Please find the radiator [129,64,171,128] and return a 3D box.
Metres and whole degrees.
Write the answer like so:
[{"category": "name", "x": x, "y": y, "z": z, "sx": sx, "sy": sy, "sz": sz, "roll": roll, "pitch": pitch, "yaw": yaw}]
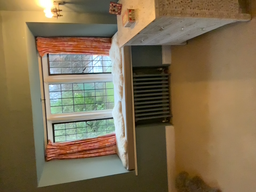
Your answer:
[{"category": "radiator", "x": 0.340, "y": -0.010, "z": 3.210, "sx": 0.130, "sy": 0.600, "sz": 0.920, "roll": -171, "pitch": 79, "yaw": -74}]
